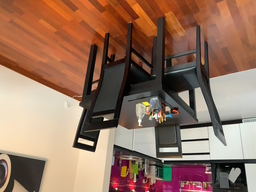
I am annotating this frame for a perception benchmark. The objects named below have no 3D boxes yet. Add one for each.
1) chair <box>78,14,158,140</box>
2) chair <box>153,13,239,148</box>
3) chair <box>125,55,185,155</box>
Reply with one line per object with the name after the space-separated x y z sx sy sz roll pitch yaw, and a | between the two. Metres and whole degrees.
-0.040 -0.150 2.070 0.470 1.030 0.530 -10 152 30 | chair
0.610 -0.110 1.980 0.550 1.070 0.470 -14 150 36 | chair
0.360 0.140 2.620 0.470 1.050 0.560 -11 152 32 | chair
